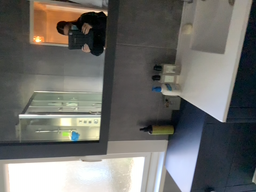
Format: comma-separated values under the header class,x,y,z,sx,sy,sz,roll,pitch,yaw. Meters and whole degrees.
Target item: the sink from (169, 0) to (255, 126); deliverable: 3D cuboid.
class,x,y,z,sx,sy,sz,roll,pitch,yaw
sink,0.420,-0.430,0.930,0.470,0.150,1.010,-131,44,-69
